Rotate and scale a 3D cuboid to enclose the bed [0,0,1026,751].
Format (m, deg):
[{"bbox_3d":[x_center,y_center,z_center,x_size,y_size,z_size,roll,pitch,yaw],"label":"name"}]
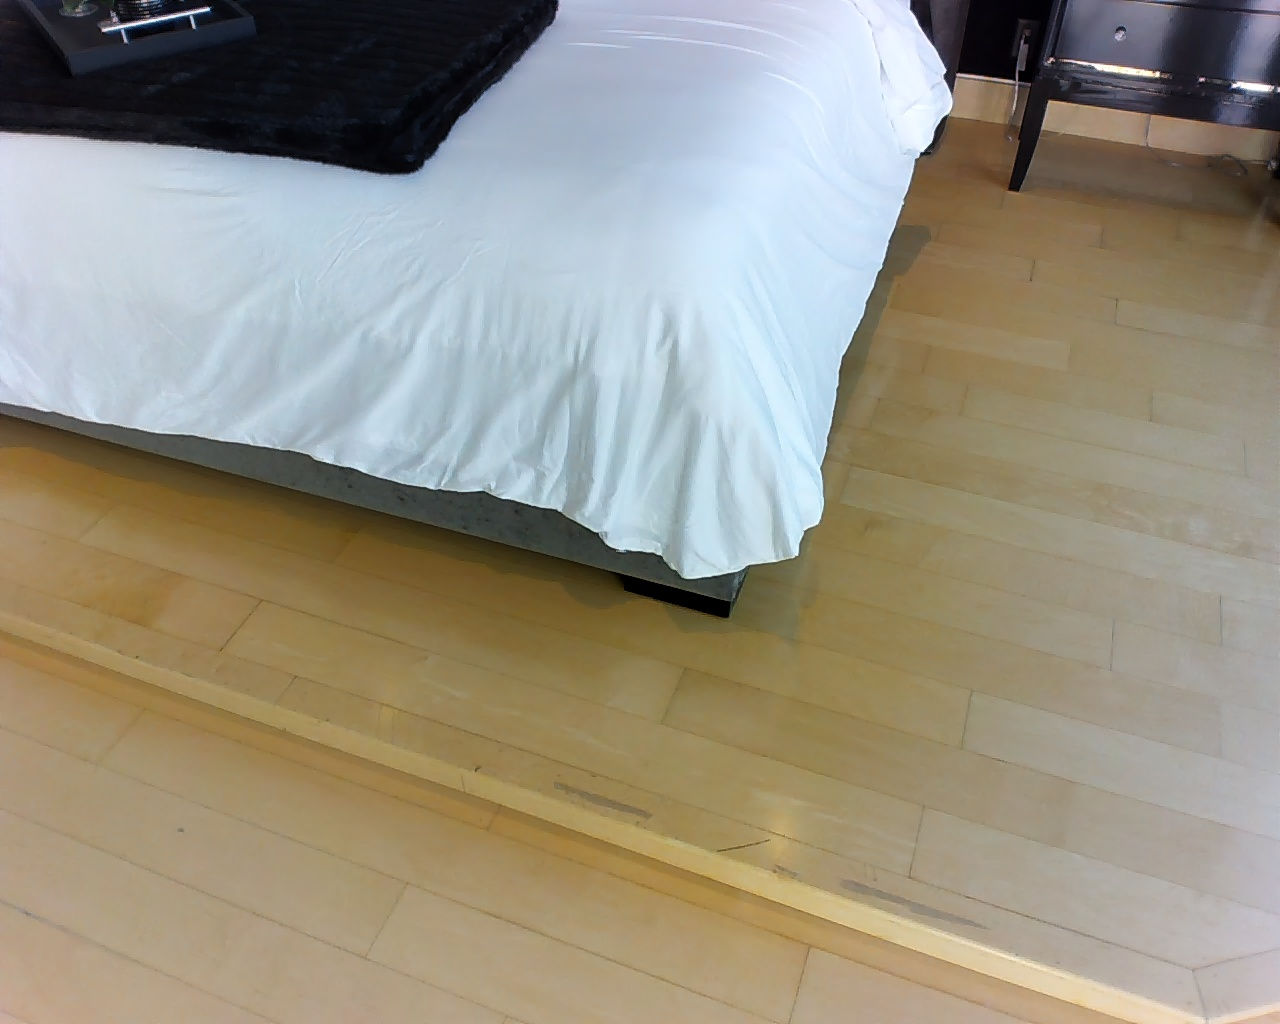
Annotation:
[{"bbox_3d":[-0.410,-0.930,2.640,2.350,0.780,2.380,14,45,15],"label":"bed"}]
